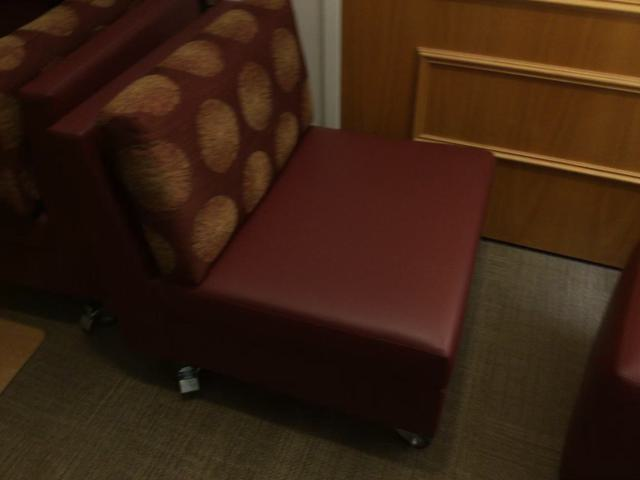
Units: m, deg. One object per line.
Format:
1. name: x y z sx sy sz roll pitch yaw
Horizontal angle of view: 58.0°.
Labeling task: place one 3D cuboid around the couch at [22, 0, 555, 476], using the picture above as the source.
1. couch: 0.000 -0.100 1.330 0.790 0.700 0.720 16 41 17

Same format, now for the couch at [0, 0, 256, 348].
1. couch: -0.740 -0.350 1.610 0.830 0.750 0.830 12 40 12
